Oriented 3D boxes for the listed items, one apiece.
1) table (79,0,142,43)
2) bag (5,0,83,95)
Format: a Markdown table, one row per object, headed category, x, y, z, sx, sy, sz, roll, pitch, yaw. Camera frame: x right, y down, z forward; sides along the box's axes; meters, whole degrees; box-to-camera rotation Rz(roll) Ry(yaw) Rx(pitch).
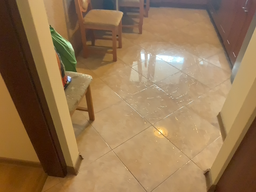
| category | x | y | z | sx | sy | sz | roll | pitch | yaw |
| --- | --- | --- | --- | --- | --- | --- | --- | --- | --- |
| table | -0.170 | -1.510 | 3.210 | 0.610 | 0.750 | 1.470 | 8 | 42 | 7 |
| bag | -0.580 | -0.360 | 1.600 | 0.330 | 0.640 | 0.280 | 6 | 41 | 5 |
